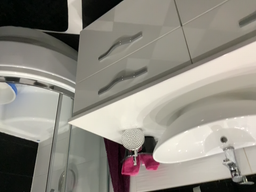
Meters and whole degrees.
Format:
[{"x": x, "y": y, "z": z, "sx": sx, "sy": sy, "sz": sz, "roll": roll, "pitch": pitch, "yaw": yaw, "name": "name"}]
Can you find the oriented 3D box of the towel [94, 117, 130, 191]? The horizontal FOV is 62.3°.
[{"x": -0.100, "y": 0.390, "z": 1.310, "sx": 0.140, "sy": 0.480, "sz": 0.150, "roll": -23, "pitch": 144, "yaw": 28, "name": "towel"}]
